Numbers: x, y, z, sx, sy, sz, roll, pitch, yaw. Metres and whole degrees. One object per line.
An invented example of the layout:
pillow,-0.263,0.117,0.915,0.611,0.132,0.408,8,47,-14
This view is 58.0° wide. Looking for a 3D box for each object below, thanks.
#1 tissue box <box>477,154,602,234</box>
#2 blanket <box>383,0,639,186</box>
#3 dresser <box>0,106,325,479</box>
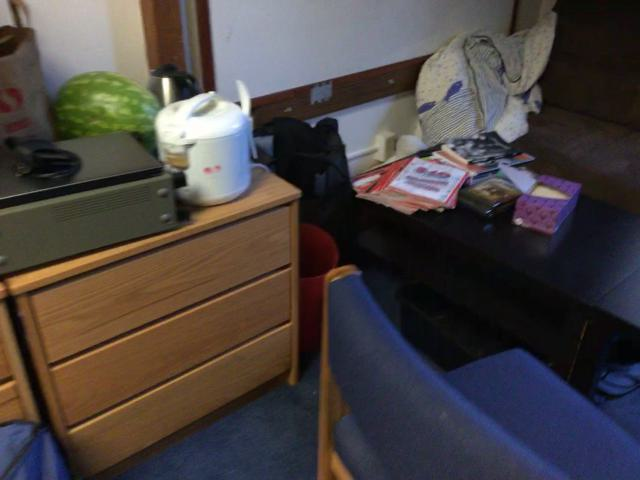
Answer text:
tissue box,0.670,-0.150,1.770,0.270,0.110,0.240,-21,36,-36
blanket,0.900,-0.770,2.580,1.080,0.660,0.610,-21,36,-36
dresser,-0.480,0.130,1.580,0.760,0.750,0.600,-21,36,-36
